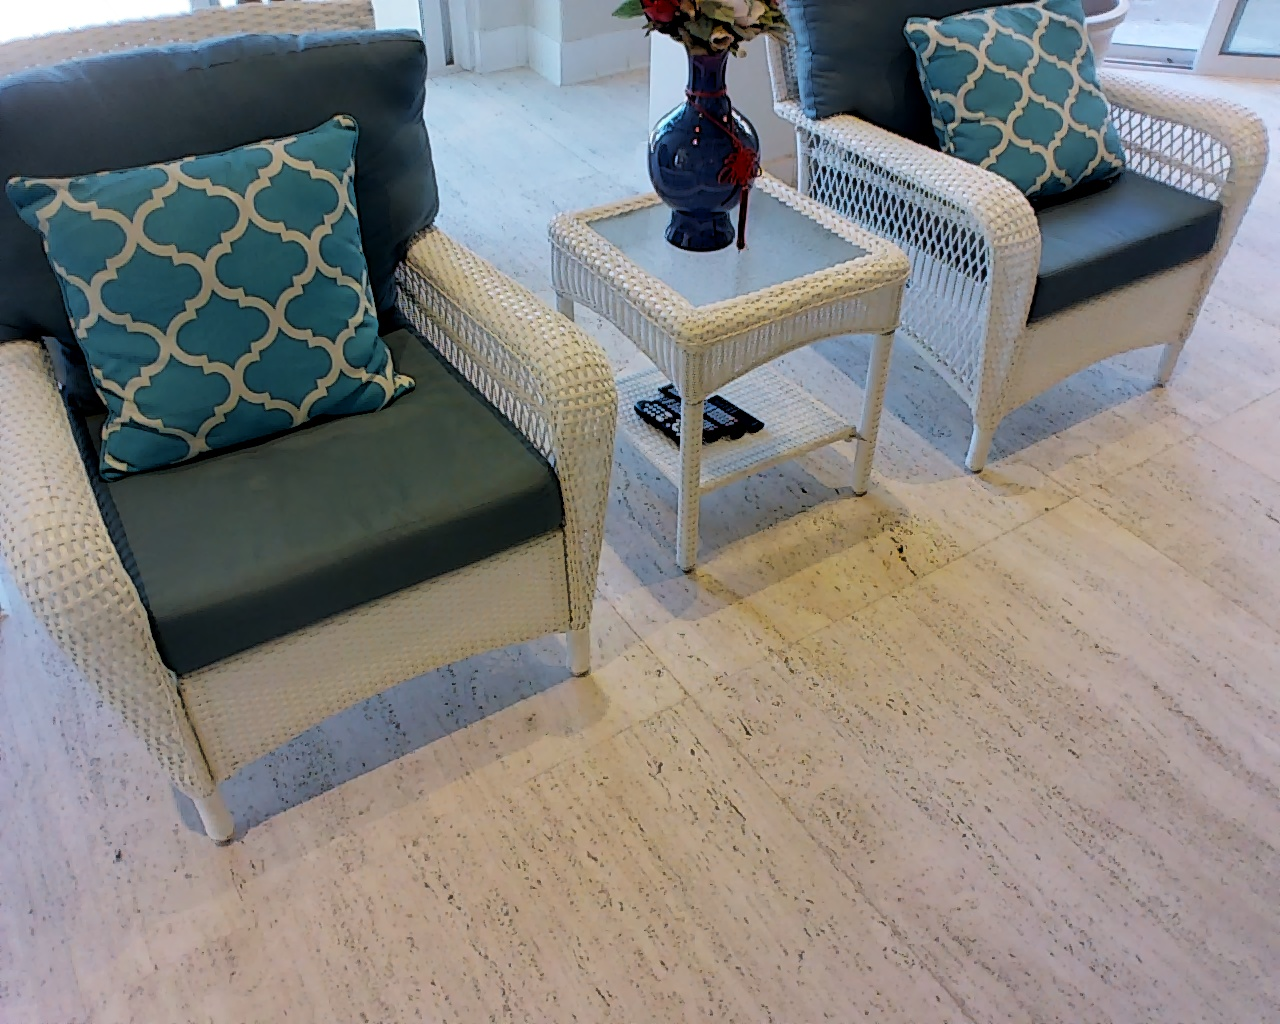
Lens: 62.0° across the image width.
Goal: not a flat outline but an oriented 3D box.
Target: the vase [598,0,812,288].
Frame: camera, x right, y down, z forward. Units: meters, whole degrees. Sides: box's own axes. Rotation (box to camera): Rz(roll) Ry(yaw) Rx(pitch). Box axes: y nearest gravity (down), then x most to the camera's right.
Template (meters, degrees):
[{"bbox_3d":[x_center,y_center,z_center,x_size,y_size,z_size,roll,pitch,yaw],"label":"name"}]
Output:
[{"bbox_3d":[0.100,-0.670,1.860,0.280,0.450,0.200,-22,47,-24],"label":"vase"}]
